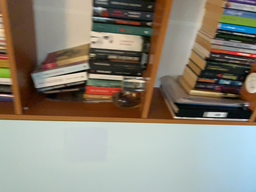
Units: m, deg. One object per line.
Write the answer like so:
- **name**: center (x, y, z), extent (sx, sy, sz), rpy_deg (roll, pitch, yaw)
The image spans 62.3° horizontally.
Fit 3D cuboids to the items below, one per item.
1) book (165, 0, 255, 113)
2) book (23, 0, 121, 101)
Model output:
- **book**: center (0.350, -0.210, 0.820), extent (0.220, 0.260, 0.510), rpy_deg (-104, 19, -59)
- **book**: center (-0.180, -0.280, 0.740), extent (0.210, 0.280, 0.560), rpy_deg (-104, 19, -58)
